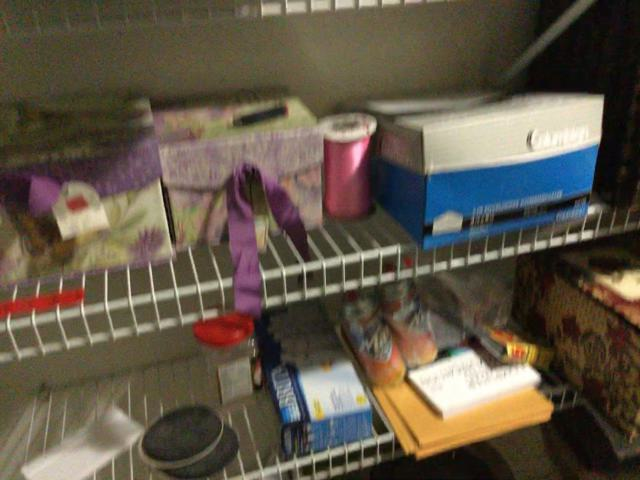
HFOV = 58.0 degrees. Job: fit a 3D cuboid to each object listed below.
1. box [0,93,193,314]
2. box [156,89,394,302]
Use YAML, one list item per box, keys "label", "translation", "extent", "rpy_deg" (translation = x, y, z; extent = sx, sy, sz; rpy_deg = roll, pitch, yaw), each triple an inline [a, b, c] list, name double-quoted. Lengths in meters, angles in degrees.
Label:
- label: "box"
  translation: [-0.330, -0.060, 0.740]
  extent: [0.280, 0.180, 0.250]
  rpy_deg: [-10, 27, -14]
- label: "box"
  translation: [-0.070, -0.080, 0.830]
  extent: [0.280, 0.200, 0.230]
  rpy_deg: [-10, 27, -14]
